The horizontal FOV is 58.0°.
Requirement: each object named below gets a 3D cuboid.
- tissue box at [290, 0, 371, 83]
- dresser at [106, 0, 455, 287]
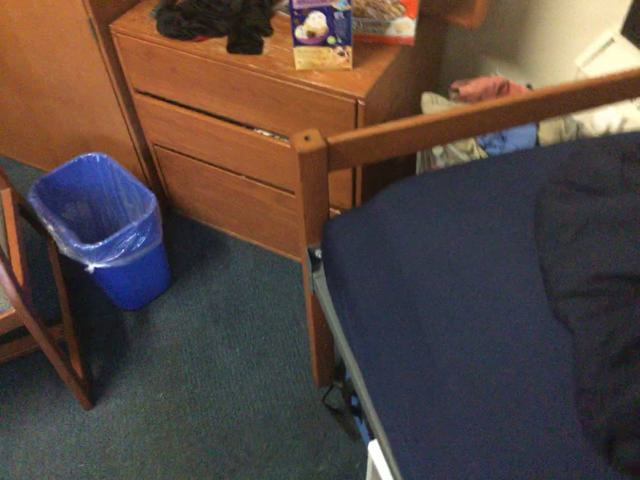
[{"bbox_3d":[0.020,-0.480,1.320,0.170,0.210,0.090,-4,48,-4],"label":"tissue box"},{"bbox_3d":[-0.060,-0.430,1.800,0.710,0.710,0.670,19,52,18],"label":"dresser"}]
